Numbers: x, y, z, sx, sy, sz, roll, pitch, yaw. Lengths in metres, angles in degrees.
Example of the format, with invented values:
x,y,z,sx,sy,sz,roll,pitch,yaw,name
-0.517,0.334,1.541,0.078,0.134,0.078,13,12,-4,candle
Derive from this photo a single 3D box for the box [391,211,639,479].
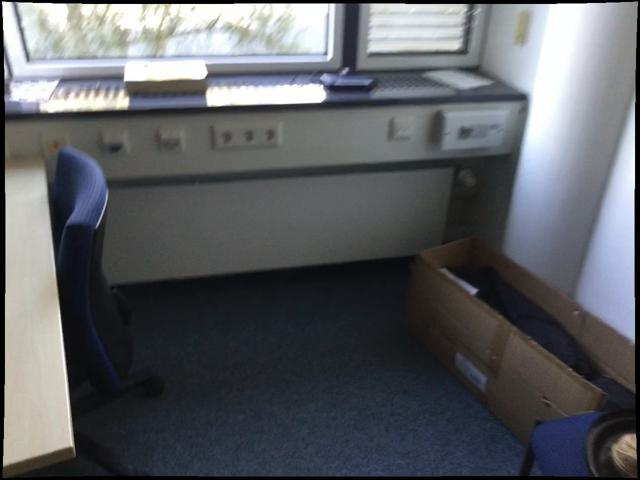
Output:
x,y,z,sx,sy,sz,roll,pitch,yaw,name
0.629,0.290,1.900,0.460,0.360,0.860,-7,33,-15,box

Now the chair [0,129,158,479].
x,y,z,sx,sy,sz,roll,pitch,yaw,name
-0.719,0.210,1.530,0.450,0.811,0.580,-7,33,-15,chair

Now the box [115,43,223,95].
x,y,z,sx,sy,sz,roll,pitch,yaw,name
-0.519,-0.591,1.970,0.330,0.080,0.300,-7,33,-15,box
